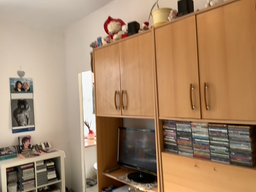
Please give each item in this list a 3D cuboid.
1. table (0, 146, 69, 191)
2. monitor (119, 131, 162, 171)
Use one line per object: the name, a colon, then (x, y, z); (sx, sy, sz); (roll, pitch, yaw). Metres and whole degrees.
table: (-1.300, 1.190, 2.930); (0.790, 0.770, 0.460); (-2, 0, -43)
monitor: (0.100, 0.520, 2.090); (0.030, 0.350, 0.520); (-2, -5, -42)
